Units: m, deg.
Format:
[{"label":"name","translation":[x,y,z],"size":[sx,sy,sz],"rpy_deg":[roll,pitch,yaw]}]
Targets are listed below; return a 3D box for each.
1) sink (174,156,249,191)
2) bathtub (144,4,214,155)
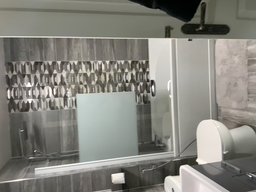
[{"label":"sink","translation":[0.480,0.690,1.270],"size":[0.630,0.120,0.460],"rpy_deg":[-171,78,-75]},{"label":"bathtub","translation":[0.600,-0.190,2.660],"size":[0.670,0.550,1.610],"rpy_deg":[-175,82,-76]}]
